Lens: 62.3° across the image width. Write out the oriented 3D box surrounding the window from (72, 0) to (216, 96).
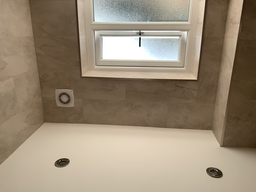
[{"bbox_3d":[0.110,-0.580,1.670,0.980,1.060,0.370,3,-161,5],"label":"window"}]
